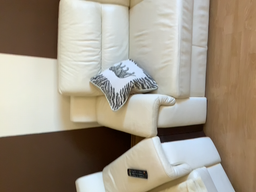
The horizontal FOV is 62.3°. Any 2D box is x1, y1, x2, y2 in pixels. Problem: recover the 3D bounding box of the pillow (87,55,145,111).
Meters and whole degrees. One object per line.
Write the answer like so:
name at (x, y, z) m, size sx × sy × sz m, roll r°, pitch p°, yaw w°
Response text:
pillow at (-0.100, -0.100, 1.480) m, size 0.380 × 0.180 × 0.280 m, roll 29°, pitch 114°, yaw 49°
